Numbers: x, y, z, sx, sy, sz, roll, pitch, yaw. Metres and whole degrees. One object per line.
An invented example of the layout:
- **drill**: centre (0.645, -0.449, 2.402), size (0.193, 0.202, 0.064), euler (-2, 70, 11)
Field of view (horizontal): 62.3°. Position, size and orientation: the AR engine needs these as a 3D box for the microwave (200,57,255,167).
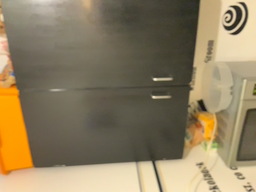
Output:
- **microwave**: centre (0.610, 0.060, 1.140), size (0.370, 0.260, 0.470), euler (-102, 11, -69)
